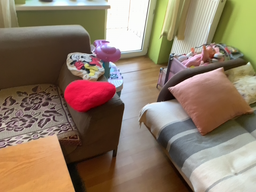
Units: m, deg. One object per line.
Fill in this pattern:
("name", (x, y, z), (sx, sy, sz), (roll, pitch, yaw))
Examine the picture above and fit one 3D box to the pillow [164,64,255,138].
("pillow", (0.670, 0.000, 1.690), (0.600, 0.230, 0.430), (-19, 44, -32))
